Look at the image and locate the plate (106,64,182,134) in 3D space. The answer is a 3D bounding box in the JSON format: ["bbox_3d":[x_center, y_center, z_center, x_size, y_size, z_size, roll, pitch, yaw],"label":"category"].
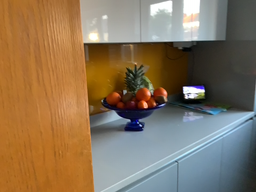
[{"bbox_3d":[0.110,-0.010,1.470,0.400,0.370,0.320,-11,16,-34],"label":"plate"}]
